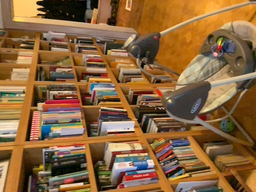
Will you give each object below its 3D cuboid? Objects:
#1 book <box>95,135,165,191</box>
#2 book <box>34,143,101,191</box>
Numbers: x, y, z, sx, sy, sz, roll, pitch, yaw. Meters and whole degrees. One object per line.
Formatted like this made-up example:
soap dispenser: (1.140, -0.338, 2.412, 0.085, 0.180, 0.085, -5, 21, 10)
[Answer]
book: (-0.010, 0.470, 1.380, 0.330, 0.330, 0.250, -120, 35, -54)
book: (-0.370, 0.540, 1.270, 0.320, 0.320, 0.360, -123, 38, -56)
